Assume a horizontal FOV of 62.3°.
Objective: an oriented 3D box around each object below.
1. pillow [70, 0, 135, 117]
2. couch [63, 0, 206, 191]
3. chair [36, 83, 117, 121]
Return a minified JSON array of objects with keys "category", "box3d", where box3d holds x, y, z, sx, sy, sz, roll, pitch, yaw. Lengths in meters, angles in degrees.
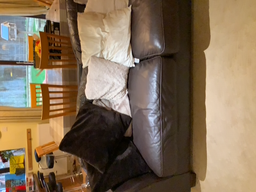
[{"category":"pillow","box3d":[-0.240,-0.500,1.770,0.550,0.310,1.280,-1,91,60]},{"category":"couch","box3d":[-0.010,-0.290,1.830,0.990,0.810,2.160,5,96,60]},{"category":"chair","box3d":[-0.710,0.040,2.920,0.550,0.960,0.440,7,98,60]}]
